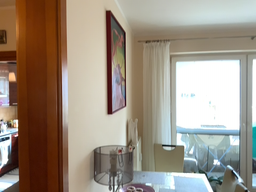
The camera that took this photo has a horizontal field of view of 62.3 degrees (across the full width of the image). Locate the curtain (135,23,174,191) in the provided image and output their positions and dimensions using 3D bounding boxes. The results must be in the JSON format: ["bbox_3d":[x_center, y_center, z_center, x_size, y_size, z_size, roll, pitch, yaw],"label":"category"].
[{"bbox_3d":[0.410,0.270,3.190,0.540,2.550,0.380,0,2,10],"label":"curtain"}]

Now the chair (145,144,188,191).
[{"bbox_3d":[0.490,1.150,2.720,0.480,0.900,0.600,0,2,11],"label":"chair"}]
